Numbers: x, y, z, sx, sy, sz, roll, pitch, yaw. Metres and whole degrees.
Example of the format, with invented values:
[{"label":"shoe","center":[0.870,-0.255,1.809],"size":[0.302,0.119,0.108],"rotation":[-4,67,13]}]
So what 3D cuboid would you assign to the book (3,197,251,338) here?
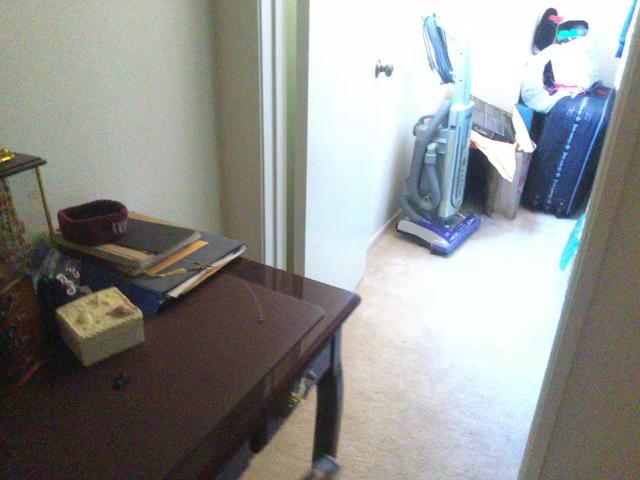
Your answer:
[{"label":"book","center":[-0.330,0.030,1.040],"size":[0.300,0.080,0.290],"rotation":[12,27,21]}]
